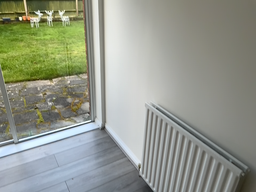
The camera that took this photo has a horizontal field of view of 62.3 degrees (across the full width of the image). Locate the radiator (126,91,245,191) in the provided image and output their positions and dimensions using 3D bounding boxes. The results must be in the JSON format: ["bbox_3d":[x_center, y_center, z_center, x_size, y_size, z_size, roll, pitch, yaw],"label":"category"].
[{"bbox_3d":[0.290,0.500,1.550,0.130,0.790,0.880,-14,31,-30],"label":"radiator"}]
